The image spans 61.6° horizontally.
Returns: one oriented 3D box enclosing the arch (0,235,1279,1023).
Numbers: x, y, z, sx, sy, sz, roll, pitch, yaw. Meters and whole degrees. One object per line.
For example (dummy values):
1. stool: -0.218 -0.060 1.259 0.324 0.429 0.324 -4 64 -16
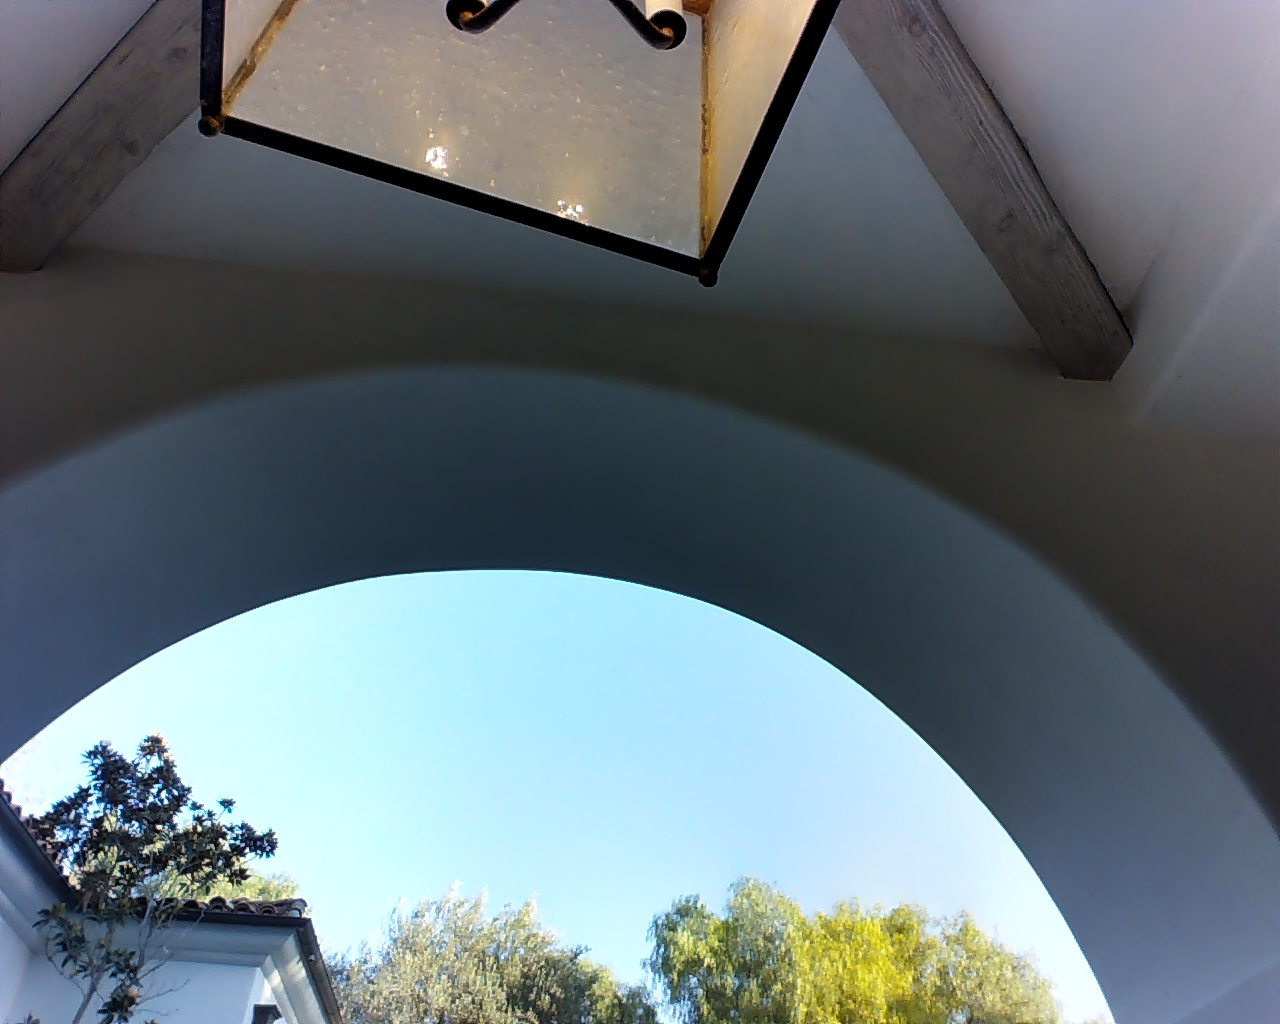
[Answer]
1. arch: -0.250 0.320 1.960 8.205 1.280 0.830 5 -43 -4
